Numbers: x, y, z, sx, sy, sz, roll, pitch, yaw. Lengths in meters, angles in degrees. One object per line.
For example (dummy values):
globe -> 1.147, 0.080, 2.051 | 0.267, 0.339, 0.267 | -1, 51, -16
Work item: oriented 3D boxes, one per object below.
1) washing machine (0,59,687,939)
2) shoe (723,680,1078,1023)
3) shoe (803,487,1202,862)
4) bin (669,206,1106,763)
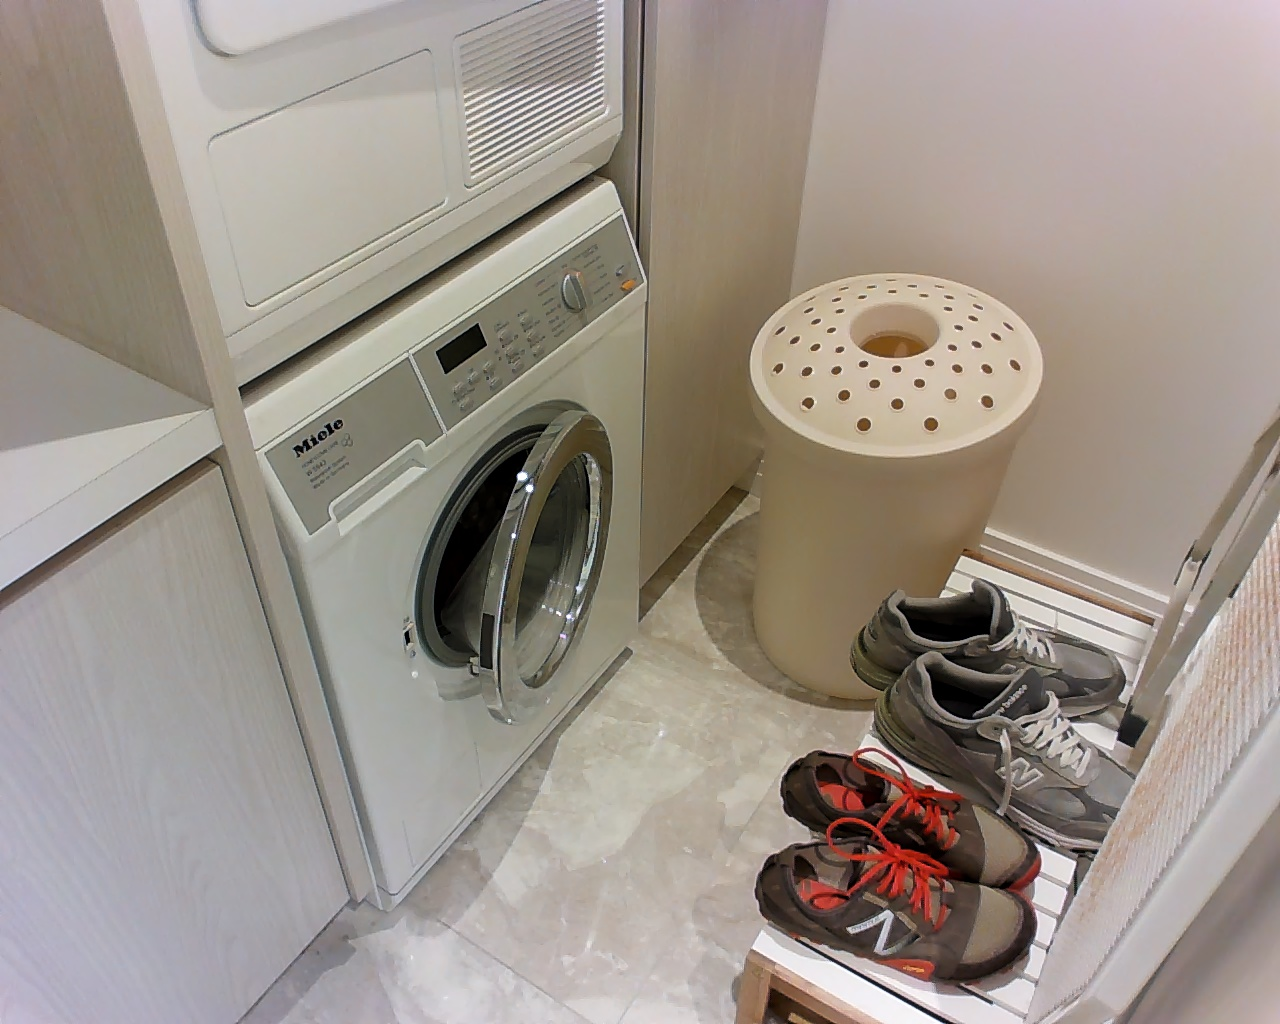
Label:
washing machine -> -0.400, -0.040, 1.490 | 0.650, 0.840, 0.630 | 24, 46, 23
shoe -> 0.270, 0.340, 1.110 | 0.300, 0.110, 0.240 | 16, 43, 15
shoe -> 0.420, 0.170, 1.260 | 0.340, 0.150, 0.300 | 24, 46, 23
bin -> 0.360, -0.050, 1.690 | 0.420, 0.620, 0.460 | 24, 46, 23
